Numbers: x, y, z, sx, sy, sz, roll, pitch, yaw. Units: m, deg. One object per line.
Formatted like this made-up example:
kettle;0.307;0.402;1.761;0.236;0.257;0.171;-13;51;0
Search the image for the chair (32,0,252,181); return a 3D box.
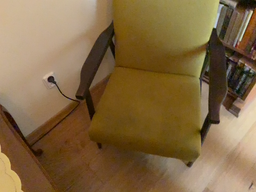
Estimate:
chair;0.130;-0.090;1.100;0.640;0.800;0.670;13;58;13
